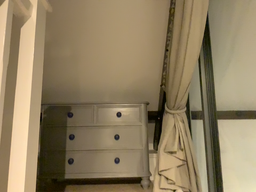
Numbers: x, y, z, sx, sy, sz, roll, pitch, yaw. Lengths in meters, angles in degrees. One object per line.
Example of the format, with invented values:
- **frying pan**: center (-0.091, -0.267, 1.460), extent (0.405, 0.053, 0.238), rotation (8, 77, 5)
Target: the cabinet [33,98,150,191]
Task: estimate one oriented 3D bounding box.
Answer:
- **cabinet**: center (-0.310, 0.440, 2.030), extent (0.980, 0.780, 0.390), rotation (-1, -10, 1)
